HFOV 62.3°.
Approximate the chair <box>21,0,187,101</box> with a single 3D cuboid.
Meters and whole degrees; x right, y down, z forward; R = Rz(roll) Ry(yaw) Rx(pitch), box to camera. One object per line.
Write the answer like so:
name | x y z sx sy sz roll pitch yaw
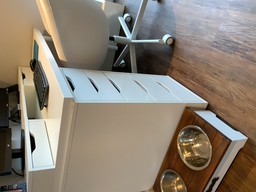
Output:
chair | -0.240 -0.440 1.430 0.710 0.810 0.680 47 128 51
